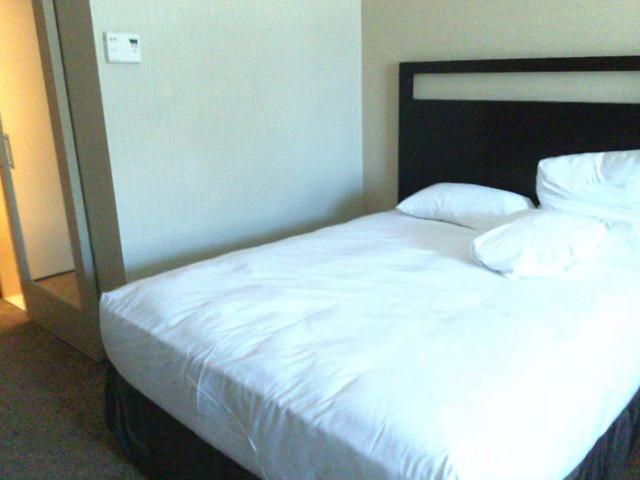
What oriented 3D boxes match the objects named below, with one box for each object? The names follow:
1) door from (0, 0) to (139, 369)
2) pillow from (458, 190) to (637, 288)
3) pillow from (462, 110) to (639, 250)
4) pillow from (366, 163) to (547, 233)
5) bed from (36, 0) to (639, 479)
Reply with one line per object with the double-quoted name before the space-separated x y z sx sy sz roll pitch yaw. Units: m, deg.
"door" -1.360 -0.430 2.900 1.010 1.950 0.200 14 22 43
"pillow" 0.880 -0.030 2.220 0.410 0.180 0.620 14 22 43
"pillow" 1.090 -0.300 2.510 0.780 0.470 0.450 14 22 43
"pillow" 0.680 -0.240 2.960 0.770 0.190 0.460 14 22 43
"bed" 0.430 0.020 2.190 1.720 1.480 2.050 14 22 43
